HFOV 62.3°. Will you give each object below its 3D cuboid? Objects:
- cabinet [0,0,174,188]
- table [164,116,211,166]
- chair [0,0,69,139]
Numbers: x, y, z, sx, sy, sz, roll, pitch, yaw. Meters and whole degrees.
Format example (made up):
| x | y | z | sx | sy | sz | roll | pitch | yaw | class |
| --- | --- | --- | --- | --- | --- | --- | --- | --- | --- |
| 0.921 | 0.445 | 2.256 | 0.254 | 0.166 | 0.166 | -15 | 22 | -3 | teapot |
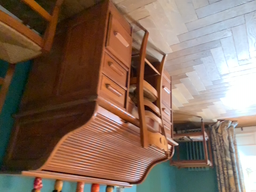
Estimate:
| x | y | z | sx | sy | sz | roll | pitch | yaw | class |
| --- | --- | --- | --- | --- | --- | --- | --- | --- | --- |
| -0.210 | 0.150 | 1.860 | 0.770 | 1.130 | 1.240 | -12 | 151 | 30 | cabinet |
| 1.010 | 0.800 | 3.650 | 0.630 | 0.720 | 0.420 | -12 | 151 | 30 | table |
| -0.760 | -0.280 | 1.240 | 0.460 | 0.940 | 0.470 | -12 | 151 | 30 | chair |
